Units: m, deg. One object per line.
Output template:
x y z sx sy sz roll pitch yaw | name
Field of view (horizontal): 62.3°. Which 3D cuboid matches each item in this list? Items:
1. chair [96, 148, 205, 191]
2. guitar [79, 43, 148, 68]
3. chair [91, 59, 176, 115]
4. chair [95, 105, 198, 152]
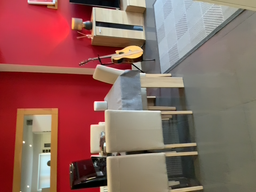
0.190 0.790 2.200 0.570 0.940 0.420 139 129 -67 | chair
-0.240 -0.670 3.420 0.530 1.020 0.230 -103 13 -59 | guitar
0.040 -0.080 2.720 0.470 0.960 0.570 142 127 -68 | chair
0.160 0.360 2.310 0.570 0.950 0.420 143 126 -68 | chair
